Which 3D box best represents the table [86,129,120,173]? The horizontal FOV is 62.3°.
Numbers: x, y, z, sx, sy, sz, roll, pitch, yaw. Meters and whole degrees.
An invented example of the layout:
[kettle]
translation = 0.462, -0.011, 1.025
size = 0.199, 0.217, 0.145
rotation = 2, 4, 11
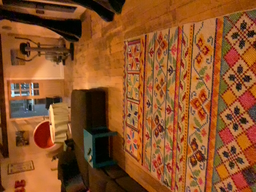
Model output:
[table]
translation = -0.460, 0.950, 3.780
size = 0.590, 0.410, 0.560
rotation = 9, 101, 64
